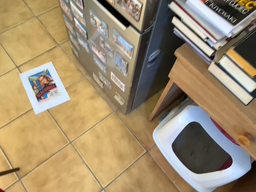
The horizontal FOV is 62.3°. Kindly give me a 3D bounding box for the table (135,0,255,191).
[{"bbox_3d":[0.600,0.250,0.860,0.520,0.760,1.020,-35,74,-19],"label":"table"}]
